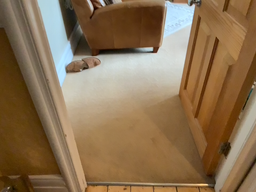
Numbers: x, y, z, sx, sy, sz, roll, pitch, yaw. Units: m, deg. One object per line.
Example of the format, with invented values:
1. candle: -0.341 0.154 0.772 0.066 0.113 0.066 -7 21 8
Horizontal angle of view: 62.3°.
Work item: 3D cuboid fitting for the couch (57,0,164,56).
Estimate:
1. couch: -0.200 -1.030 2.520 1.040 0.750 0.820 -3 40 -4
